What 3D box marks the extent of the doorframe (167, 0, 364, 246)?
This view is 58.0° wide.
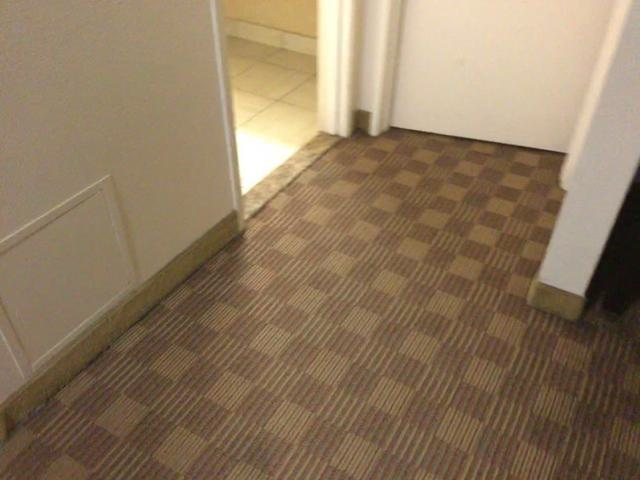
[{"bbox_3d":[-0.120,-0.880,1.760,0.160,1.630,0.880,19,44,23],"label":"doorframe"}]

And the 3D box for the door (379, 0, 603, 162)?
[{"bbox_3d":[0.630,-1.160,1.830,0.710,1.910,0.070,13,40,14],"label":"door"}]
